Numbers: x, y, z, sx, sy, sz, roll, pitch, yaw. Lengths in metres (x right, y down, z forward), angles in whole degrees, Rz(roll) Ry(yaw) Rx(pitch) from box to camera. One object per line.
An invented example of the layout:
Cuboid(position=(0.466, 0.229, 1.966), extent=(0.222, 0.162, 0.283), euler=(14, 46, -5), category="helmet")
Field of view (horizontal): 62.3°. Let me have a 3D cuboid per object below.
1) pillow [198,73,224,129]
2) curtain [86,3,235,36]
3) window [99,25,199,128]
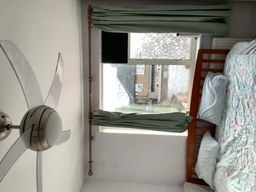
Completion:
Cuboid(position=(1.080, 0.040, 2.810), extent=(0.430, 0.140, 0.670), euler=(-75, -13, -80), category="pillow")
Cuboid(position=(0.400, -1.020, 2.850), extent=(0.160, 1.910, 0.380), euler=(-78, -11, -78), category="curtain")
Cuboid(position=(0.280, -0.280, 3.240), extent=(0.070, 1.430, 1.520), euler=(-76, -12, -79), category="window")
